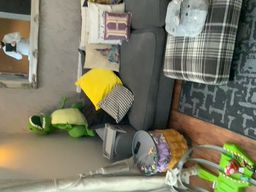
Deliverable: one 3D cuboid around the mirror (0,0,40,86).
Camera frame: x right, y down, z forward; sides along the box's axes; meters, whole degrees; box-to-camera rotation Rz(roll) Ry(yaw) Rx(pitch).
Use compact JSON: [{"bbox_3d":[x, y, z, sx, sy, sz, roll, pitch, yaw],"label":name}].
[{"bbox_3d":[-1.370,-0.890,2.310,0.080,0.740,1.550,19,107,59],"label":"mirror"}]
